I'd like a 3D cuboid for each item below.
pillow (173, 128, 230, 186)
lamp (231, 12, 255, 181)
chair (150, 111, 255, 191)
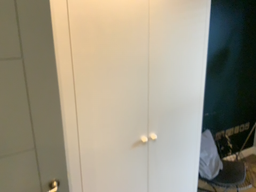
[{"bbox_3d":[0.710,0.580,2.050,0.500,0.480,0.180,9,-23,-35],"label":"pillow"},{"bbox_3d":[1.470,0.010,2.410,0.350,1.760,0.590,6,17,26],"label":"lamp"},{"bbox_3d":[0.760,0.680,2.020,0.860,0.760,0.690,-12,19,-37],"label":"chair"}]
